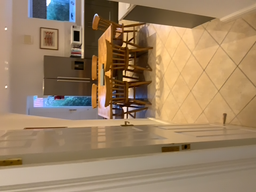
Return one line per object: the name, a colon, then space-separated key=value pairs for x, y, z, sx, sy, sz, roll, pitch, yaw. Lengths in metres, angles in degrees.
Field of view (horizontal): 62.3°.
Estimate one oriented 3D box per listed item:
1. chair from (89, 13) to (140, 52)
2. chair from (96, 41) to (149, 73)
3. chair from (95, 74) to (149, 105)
chair: x=-0.270 y=-1.180 z=4.060 sx=0.500 sy=0.860 sz=0.550 roll=-167 pitch=78 yaw=-68
chair: x=-0.110 y=-0.650 z=3.710 sx=0.500 sy=0.800 sz=0.440 roll=-167 pitch=79 yaw=-70
chair: x=-0.120 y=-0.120 z=3.740 sx=0.540 sy=0.810 sz=0.480 roll=-167 pitch=79 yaw=-70
